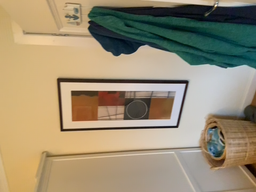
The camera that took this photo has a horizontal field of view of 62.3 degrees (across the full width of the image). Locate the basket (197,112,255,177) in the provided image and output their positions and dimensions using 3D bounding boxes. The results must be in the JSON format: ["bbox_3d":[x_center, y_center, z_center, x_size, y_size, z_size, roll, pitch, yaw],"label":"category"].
[{"bbox_3d":[1.000,0.430,1.980,0.400,0.460,0.410,-112,24,-61],"label":"basket"}]
